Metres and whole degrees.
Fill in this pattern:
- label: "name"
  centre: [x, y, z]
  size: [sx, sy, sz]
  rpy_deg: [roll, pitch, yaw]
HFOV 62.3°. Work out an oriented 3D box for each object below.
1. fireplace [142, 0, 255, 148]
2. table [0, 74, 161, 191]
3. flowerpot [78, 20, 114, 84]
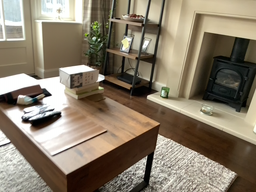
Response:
- label: "fireplace"
  centre: [1.080, -0.430, 2.310]
  size: [1.450, 1.300, 0.910]
  rpy_deg: [24, 29, 37]
- label: "table"
  centre: [-0.410, 0.260, 1.350]
  size: [0.990, 0.470, 0.610]
  rpy_deg: [24, 29, 36]
- label: "flowerpot"
  centre: [-0.480, -0.650, 3.130]
  size: [0.330, 0.840, 0.360]
  rpy_deg: [24, 28, 36]
